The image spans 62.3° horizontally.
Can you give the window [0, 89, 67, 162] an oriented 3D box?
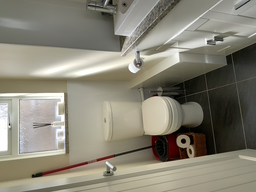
[{"bbox_3d":[-1.090,0.270,1.990,0.130,0.960,0.650,152,115,-65],"label":"window"}]
